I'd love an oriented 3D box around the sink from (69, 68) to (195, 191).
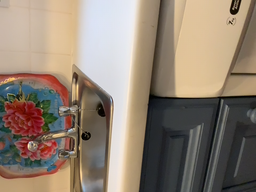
[{"bbox_3d":[-0.050,0.180,0.680,0.440,0.200,0.470,-145,57,-62],"label":"sink"}]
